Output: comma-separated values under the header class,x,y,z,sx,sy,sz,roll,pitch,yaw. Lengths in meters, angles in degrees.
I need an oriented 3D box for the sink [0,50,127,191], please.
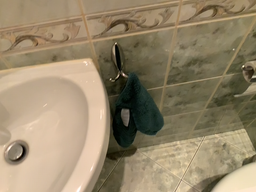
class,x,y,z,sx,sy,sz,roll,pitch,yaw
sink,-0.230,0.140,0.470,0.420,0.150,0.420,-10,60,-4
